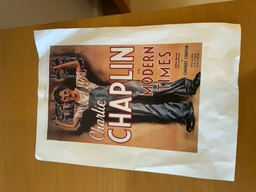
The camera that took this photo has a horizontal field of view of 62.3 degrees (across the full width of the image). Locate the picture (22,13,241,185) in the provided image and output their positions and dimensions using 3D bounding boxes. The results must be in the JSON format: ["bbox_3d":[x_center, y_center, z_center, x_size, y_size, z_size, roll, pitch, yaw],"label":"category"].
[{"bbox_3d":[-0.010,0.000,0.300,0.300,0.020,0.210,2,91,12],"label":"picture"}]
